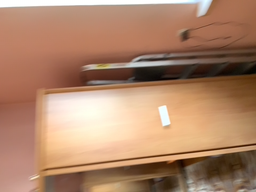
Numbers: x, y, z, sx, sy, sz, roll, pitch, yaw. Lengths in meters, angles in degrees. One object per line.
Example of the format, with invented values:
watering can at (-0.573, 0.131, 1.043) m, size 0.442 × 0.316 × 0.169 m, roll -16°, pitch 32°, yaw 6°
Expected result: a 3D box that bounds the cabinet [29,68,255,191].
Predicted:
cabinet at (0.430, 0.720, 1.520) m, size 0.680 × 1.980 × 1.640 m, roll 100°, pitch 163°, yaw -63°
